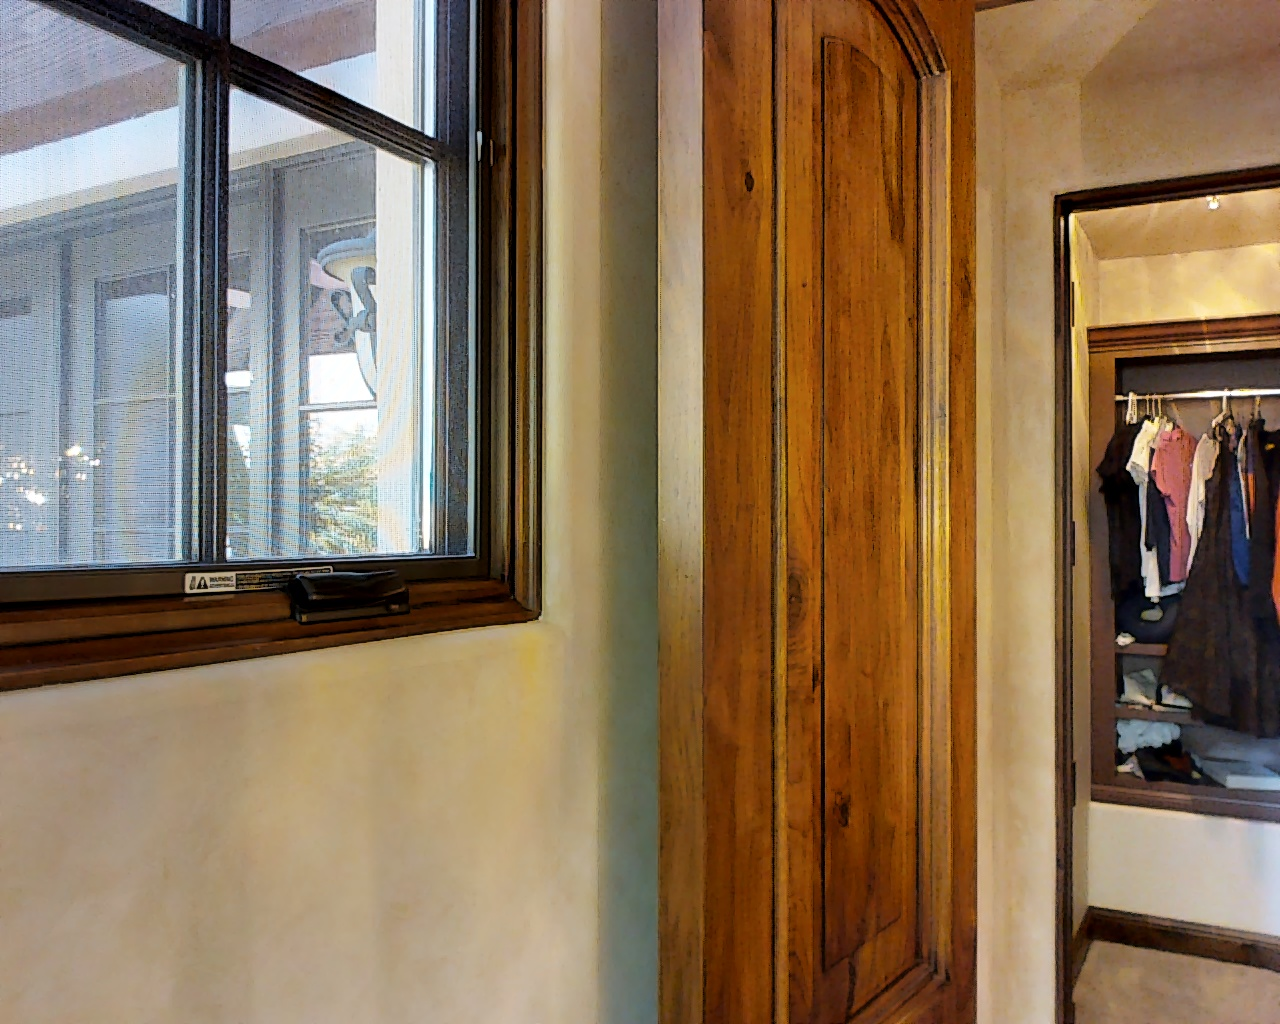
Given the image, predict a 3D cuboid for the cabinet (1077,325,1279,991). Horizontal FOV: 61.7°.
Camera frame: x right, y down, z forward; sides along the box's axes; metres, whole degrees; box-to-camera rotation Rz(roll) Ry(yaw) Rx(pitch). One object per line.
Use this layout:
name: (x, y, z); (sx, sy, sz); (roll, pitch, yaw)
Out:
cabinet: (2.400, 0.500, 4.020); (1.300, 2.270, 0.850); (-1, -1, 29)
